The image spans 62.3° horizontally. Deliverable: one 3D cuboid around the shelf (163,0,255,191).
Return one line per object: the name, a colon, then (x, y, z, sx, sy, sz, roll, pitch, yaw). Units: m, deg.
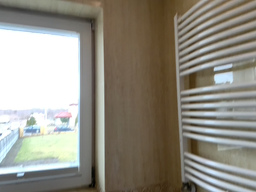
shelf: (0.380, 0.040, 0.960, 0.140, 0.920, 0.580, 0, -4, -21)
